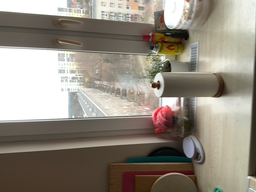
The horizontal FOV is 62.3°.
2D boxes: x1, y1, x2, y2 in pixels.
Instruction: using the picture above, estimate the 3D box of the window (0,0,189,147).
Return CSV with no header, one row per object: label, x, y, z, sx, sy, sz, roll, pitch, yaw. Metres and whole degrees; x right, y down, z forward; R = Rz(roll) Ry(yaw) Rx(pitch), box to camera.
window,-0.360,-0.530,1.200,0.290,1.420,1.540,-169,80,-74
